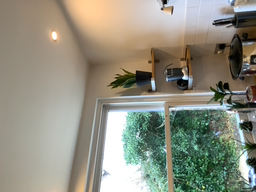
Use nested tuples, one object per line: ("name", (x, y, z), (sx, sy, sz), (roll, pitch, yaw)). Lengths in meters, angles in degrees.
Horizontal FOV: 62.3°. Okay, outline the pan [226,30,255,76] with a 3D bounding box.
("pan", (1.000, -0.350, 1.810), (0.310, 0.210, 0.330), (-11, -82, -80))
